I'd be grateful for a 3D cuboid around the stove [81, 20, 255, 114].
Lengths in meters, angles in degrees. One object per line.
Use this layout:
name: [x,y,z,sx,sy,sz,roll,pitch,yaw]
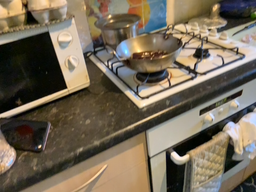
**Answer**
stove: [0.160,-0.190,0.910,0.580,0.030,0.550,-22,37,-19]
